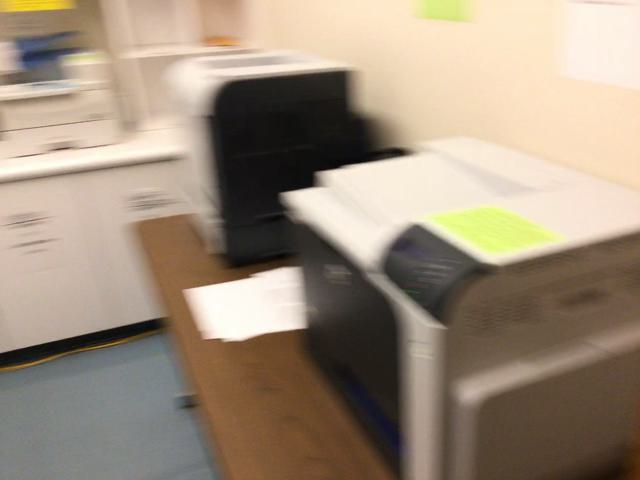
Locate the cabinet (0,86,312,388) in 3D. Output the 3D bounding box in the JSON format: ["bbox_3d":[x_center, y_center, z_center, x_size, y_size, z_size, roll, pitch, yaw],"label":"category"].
[{"bbox_3d":[-1.400,0.030,2.380,2.640,0.930,0.690,-12,26,-21],"label":"cabinet"}]

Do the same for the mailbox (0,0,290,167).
[{"bbox_3d":[-1.330,-0.860,2.220,2.340,1.060,0.520,-12,26,-21],"label":"mailbox"}]
